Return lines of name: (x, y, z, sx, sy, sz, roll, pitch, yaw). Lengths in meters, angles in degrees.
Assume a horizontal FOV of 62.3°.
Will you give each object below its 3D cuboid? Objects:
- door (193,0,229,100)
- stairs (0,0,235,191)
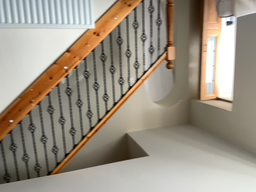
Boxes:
door: (1.340, -0.900, 3.410, 0.580, 1.870, 0.110, -7, -168, -27)
stairs: (-0.670, 0.040, 2.670, 4.570, 1.240, 1.060, -45, -161, -14)
